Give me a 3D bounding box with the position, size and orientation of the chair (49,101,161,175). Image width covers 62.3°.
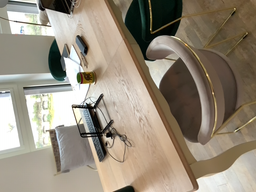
[{"bbox_3d":[-0.240,0.410,2.130,0.590,0.870,0.460,-33,68,53],"label":"chair"}]

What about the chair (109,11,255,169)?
[{"bbox_3d":[0.410,-0.020,1.210,0.590,0.740,0.520,-48,57,48],"label":"chair"}]

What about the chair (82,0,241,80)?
[{"bbox_3d":[0.190,-0.500,1.440,0.580,0.750,0.490,-52,54,46],"label":"chair"}]

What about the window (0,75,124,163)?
[{"bbox_3d":[-1.230,0.230,2.310,0.070,2.480,0.890,-40,63,51],"label":"window"}]
